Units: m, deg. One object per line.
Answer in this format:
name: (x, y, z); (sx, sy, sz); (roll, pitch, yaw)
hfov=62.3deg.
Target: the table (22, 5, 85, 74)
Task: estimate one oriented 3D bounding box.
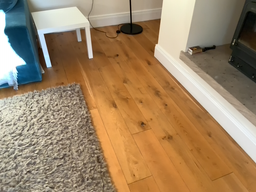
table: (-0.890, -0.700, 2.550); (0.570, 0.520, 0.600); (-13, 43, -17)
